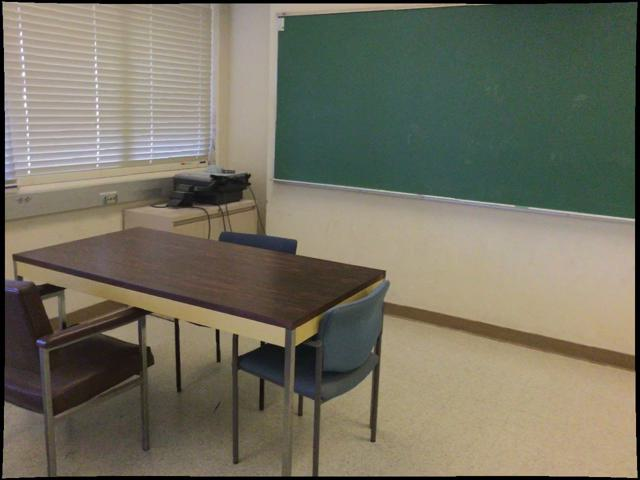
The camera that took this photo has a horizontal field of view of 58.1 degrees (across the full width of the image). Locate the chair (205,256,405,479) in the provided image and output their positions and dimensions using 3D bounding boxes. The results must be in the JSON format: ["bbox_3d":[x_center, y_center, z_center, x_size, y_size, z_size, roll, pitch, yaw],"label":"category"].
[{"bbox_3d":[-0.050,0.521,2.400,0.539,0.702,0.650,11,17,30],"label":"chair"}]

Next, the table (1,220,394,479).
[{"bbox_3d":[-0.569,0.411,2.650,1.547,0.652,0.859,11,17,30],"label":"table"}]
